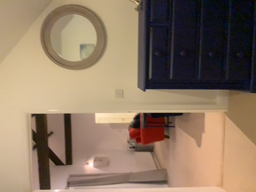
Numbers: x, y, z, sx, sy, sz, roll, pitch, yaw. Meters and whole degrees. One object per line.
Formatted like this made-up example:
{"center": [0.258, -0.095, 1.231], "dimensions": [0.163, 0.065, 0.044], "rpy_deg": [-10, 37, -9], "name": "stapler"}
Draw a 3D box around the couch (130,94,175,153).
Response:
{"center": [0.510, 0.580, 4.960], "dimensions": [1.100, 0.830, 0.980], "rpy_deg": [-98, 9, -71], "name": "couch"}
